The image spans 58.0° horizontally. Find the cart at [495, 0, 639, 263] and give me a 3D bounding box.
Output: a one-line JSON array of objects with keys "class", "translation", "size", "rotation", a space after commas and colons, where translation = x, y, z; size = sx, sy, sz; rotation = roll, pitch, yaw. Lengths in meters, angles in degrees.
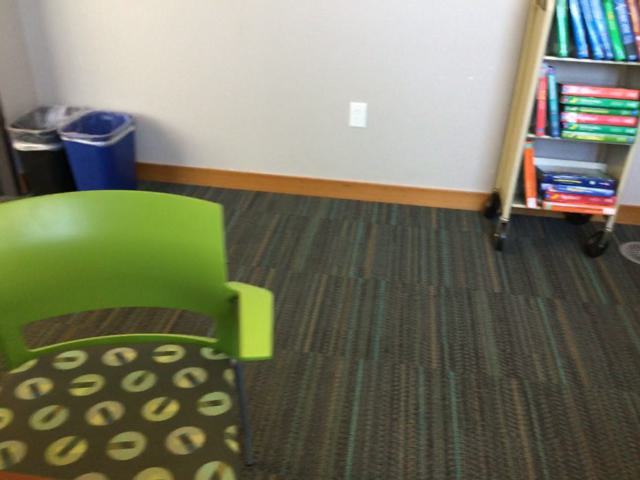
[{"class": "cart", "translation": [1.090, -0.520, 2.380], "size": [0.540, 1.100, 0.460], "rotation": [5, 29, 10]}]

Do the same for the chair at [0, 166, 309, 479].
[{"class": "chair", "translation": [-0.420, 0.350, 1.180], "size": [0.720, 0.790, 0.600], "rotation": [-5, 28, -8]}]
